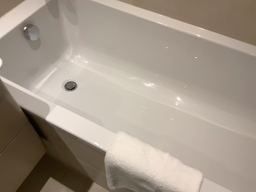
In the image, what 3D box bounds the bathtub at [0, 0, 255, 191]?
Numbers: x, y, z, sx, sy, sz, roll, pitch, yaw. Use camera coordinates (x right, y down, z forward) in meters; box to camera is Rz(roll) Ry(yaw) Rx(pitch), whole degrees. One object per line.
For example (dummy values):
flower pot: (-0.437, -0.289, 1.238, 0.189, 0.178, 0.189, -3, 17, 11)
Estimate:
bathtub: (0.310, 0.180, 0.950, 1.940, 0.600, 0.690, 24, 57, 13)
